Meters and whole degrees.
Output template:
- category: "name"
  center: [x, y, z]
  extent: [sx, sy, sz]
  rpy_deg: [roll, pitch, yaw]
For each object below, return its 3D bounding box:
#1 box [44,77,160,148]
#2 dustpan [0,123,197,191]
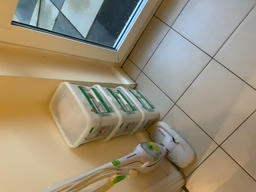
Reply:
- category: "box"
  center: [-0.110, 0.070, 1.200]
  extent: [0.280, 0.600, 0.170]
  rpy_deg: [51, 119, 27]
- category: "dustpan"
  center: [-0.010, 0.280, 0.900]
  extent: [0.150, 1.020, 0.180]
  rpy_deg: [-51, 61, 26]
